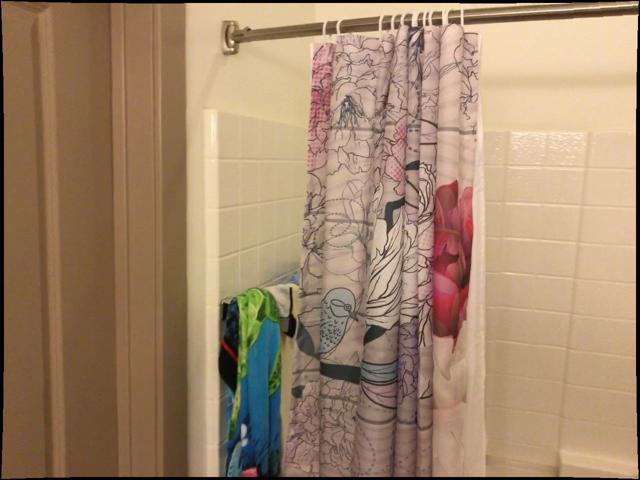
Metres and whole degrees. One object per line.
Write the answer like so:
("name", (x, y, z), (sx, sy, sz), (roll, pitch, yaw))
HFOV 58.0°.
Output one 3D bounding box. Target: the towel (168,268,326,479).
("towel", (-0.140, 0.571, 1.380), (0.190, 0.932, 0.420), (3, 10, 18))
